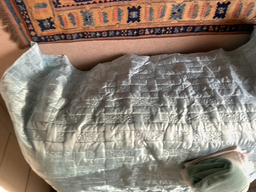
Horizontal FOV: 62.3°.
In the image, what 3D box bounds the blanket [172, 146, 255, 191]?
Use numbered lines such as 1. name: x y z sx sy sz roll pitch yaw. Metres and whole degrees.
1. blanket: 0.510 0.510 1.240 0.420 0.160 0.580 -5 141 0
